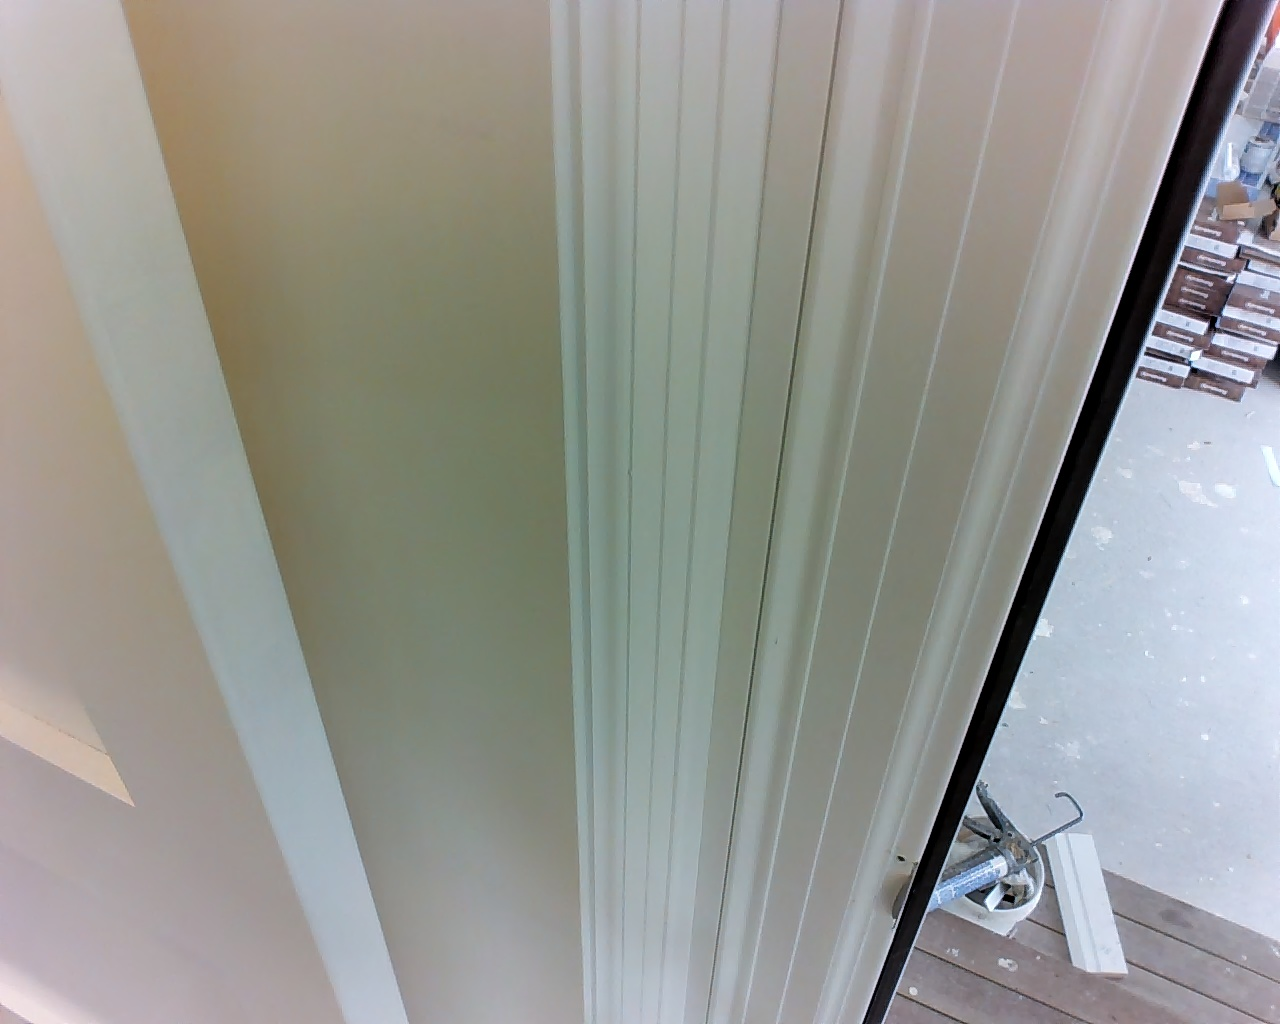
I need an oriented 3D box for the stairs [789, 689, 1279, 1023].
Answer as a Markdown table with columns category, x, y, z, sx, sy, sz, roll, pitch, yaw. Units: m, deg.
| category | x | y | z | sx | sy | sz | roll | pitch | yaw |
| --- | --- | --- | --- | --- | --- | --- | --- | --- | --- |
| stairs | 0.940 | 0.840 | 1.820 | 1.210 | 0.250 | 0.700 | 19 | 44 | 19 |
